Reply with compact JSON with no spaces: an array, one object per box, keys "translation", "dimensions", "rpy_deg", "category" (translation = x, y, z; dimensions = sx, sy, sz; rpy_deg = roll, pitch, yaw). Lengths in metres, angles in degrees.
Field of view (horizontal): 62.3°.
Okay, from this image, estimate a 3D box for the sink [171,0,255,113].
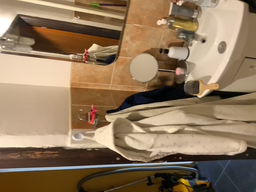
[{"translation":[0.470,-0.250,1.170],"dimensions":[0.420,0.140,0.530],"rpy_deg":[-111,30,-52],"category":"sink"}]
